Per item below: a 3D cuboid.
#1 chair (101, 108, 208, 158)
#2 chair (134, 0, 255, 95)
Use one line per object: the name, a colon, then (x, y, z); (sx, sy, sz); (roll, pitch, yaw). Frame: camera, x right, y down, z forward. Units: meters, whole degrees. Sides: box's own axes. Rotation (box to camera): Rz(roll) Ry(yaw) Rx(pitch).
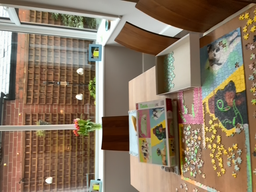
chair: (0.250, 0.340, 2.170); (0.470, 0.970, 0.420); (165, 105, -71)
chair: (0.570, -0.310, 1.250); (0.460, 0.960, 0.540); (163, 108, -71)
